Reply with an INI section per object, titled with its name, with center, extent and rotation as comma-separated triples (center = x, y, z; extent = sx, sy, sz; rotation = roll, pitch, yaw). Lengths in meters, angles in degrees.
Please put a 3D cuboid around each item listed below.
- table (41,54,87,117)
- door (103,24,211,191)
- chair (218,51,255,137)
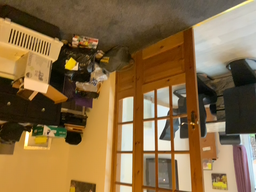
[table]
center = -0.890, -0.120, 2.990
extent = 0.400, 0.740, 0.420
rotation = 16, 158, -41
[door]
center = 0.220, 0.390, 2.280
extent = 1.190, 2.040, 0.180
rotation = -13, 158, 41
[chair]
center = 1.500, 0.010, 2.790
extent = 0.380, 0.990, 0.530
rotation = -10, 160, 34
